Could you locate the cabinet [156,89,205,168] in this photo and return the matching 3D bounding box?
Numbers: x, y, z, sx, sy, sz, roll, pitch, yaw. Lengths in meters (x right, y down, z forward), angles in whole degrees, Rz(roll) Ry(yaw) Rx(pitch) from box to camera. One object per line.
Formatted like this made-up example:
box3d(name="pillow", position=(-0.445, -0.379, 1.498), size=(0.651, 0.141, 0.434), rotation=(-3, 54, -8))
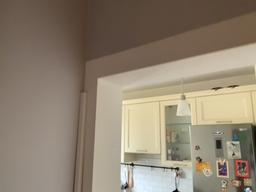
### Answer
box3d(name="cabinet", position=(0.690, 0.430, 2.830), size=(0.500, 0.940, 0.350), rotation=(-7, -15, 34))
